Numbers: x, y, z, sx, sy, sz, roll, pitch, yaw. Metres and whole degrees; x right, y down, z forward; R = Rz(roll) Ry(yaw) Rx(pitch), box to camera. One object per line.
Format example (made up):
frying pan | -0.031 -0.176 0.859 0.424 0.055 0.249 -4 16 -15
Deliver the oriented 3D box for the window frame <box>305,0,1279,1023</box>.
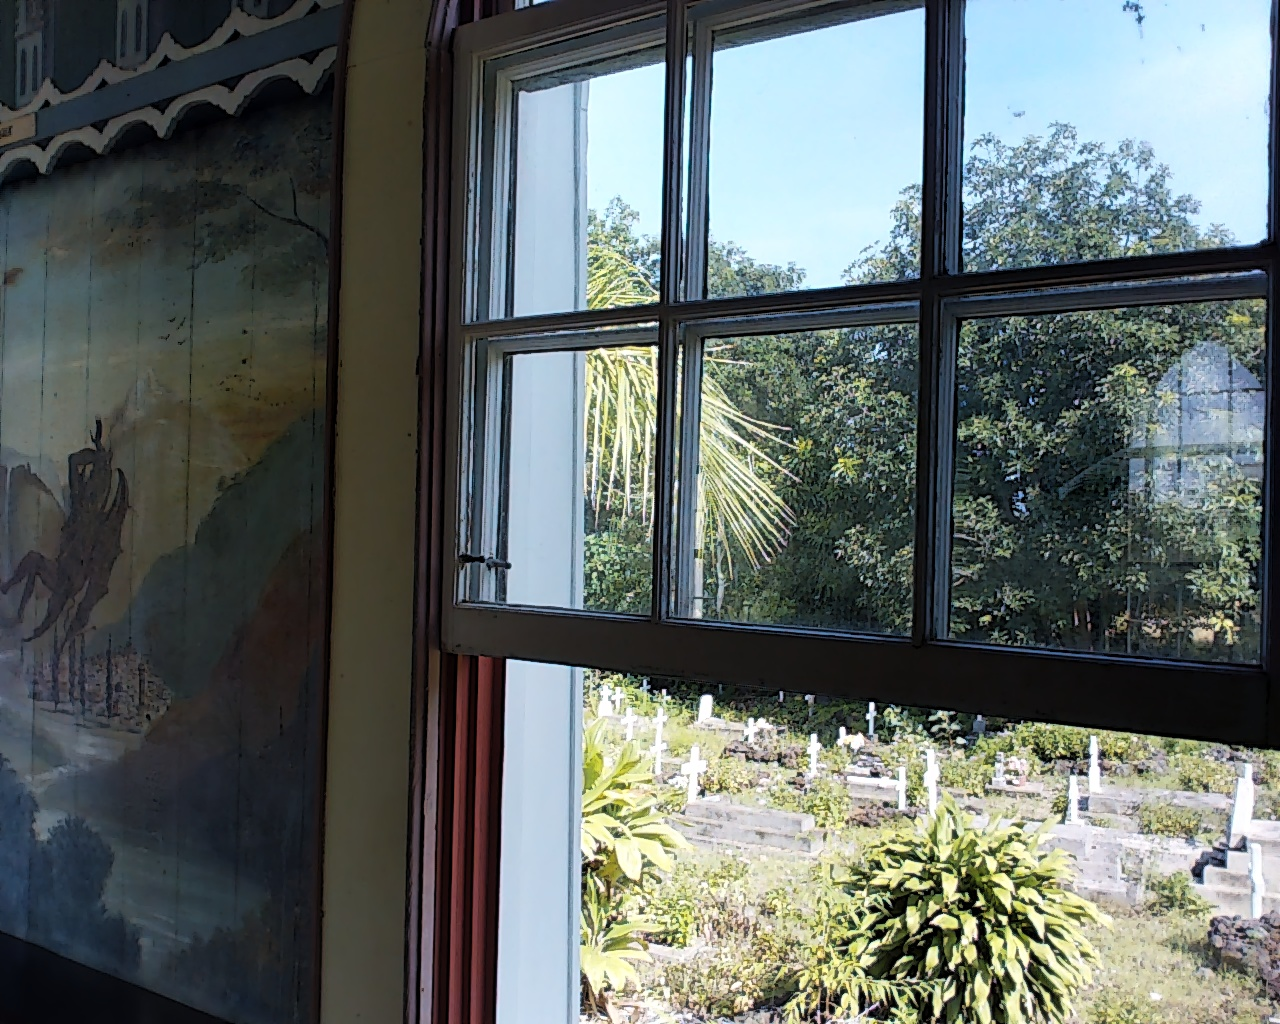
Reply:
window frame | 0.150 -0.130 1.030 1.130 2.201 0.220 0 -1 33
